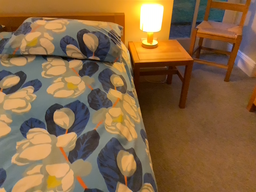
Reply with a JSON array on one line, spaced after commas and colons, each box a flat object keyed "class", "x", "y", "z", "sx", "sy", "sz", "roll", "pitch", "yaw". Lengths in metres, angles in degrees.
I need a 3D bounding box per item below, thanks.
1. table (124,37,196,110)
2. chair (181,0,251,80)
[{"class": "table", "x": 0.230, "y": -0.210, "z": 1.840, "sx": 0.470, "sy": 0.440, "sz": 0.470, "roll": -3, "pitch": 36, "yaw": -6}, {"class": "chair", "x": 0.910, "y": -0.730, "z": 2.170, "sx": 0.450, "sy": 0.930, "sz": 0.500, "roll": 18, "pitch": 39, "yaw": 21}]
